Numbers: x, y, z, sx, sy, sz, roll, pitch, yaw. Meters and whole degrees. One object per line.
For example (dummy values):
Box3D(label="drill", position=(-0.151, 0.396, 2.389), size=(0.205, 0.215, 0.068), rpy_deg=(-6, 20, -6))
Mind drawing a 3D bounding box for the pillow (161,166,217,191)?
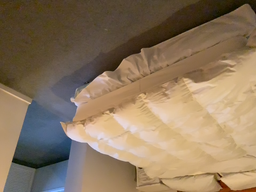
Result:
Box3D(label="pillow", position=(0.800, 1.130, 2.820), size=(0.570, 0.200, 0.430), rpy_deg=(-23, 140, 30))

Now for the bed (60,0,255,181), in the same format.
Box3D(label="bed", position=(0.710, 0.300, 2.260), size=(1.560, 0.590, 2.180), rpy_deg=(-23, 140, 30))
